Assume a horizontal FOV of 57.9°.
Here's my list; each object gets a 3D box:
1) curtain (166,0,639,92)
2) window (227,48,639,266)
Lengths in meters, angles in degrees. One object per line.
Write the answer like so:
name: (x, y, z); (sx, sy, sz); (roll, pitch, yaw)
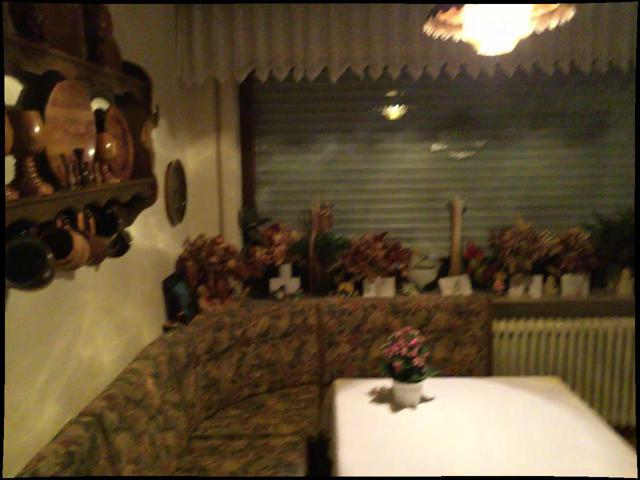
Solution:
curtain: (1.359, -1.031, 2.650); (4.056, 0.611, 0.360); (0, 9, 2)
window: (0.859, -0.420, 3.050); (2.607, 1.061, 0.390); (0, 9, 2)
